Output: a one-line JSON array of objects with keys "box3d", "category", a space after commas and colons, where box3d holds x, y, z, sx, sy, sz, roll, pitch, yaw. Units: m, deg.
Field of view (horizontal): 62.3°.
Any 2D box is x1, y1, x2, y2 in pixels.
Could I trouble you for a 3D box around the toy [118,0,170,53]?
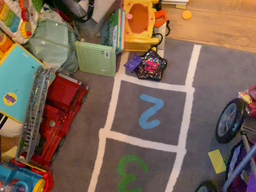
[{"box3d": [0.070, -0.360, 0.980, 0.220, 0.110, 0.290, 1, 77, 0], "category": "toy"}]
